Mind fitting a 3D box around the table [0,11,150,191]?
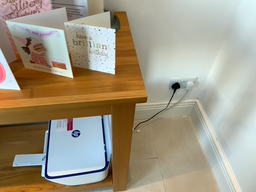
[{"bbox_3d":[-0.630,0.120,0.910,1.290,0.770,0.430,-4,50,-7],"label":"table"}]
